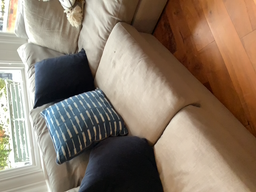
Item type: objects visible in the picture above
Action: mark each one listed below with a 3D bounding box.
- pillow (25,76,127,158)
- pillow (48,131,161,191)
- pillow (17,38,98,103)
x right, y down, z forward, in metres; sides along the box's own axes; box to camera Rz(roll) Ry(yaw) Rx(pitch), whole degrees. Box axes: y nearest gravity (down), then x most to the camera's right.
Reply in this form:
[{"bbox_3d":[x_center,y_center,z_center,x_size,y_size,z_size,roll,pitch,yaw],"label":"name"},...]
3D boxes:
[{"bbox_3d":[-0.320,0.120,1.360,0.440,0.450,0.200,47,110,27],"label":"pillow"},{"bbox_3d":[-0.090,0.400,1.100,0.430,0.450,0.180,44,98,21],"label":"pillow"},{"bbox_3d":[-0.540,-0.180,1.670,0.180,0.440,0.440,-48,66,13],"label":"pillow"}]
